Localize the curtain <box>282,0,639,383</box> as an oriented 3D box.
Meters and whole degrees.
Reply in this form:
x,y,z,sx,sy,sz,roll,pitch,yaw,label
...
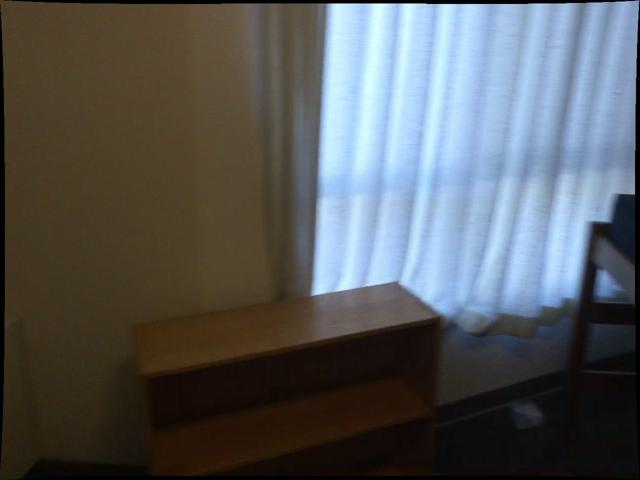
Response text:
x,y,z,sx,sy,sz,roll,pitch,yaw,label
0.699,-0.270,2.130,1.688,1.362,0.220,-7,24,-20,curtain
